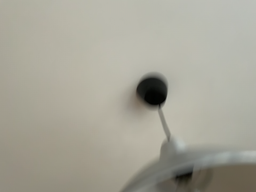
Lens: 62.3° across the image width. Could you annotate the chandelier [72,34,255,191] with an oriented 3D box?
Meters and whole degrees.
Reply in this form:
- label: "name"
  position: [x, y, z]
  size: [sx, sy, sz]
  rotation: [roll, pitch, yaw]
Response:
- label: "chandelier"
  position: [0.120, 0.210, 0.670]
  size: [0.420, 0.400, 0.640]
  rotation: [56, 13, -40]
